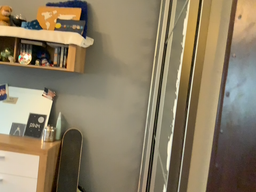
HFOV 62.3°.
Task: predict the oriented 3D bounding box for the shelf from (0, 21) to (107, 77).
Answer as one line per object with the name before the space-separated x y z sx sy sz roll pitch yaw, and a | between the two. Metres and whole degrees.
shelf | -1.030 -0.460 1.990 1.580 0.360 0.370 8 3 4
